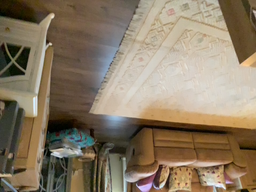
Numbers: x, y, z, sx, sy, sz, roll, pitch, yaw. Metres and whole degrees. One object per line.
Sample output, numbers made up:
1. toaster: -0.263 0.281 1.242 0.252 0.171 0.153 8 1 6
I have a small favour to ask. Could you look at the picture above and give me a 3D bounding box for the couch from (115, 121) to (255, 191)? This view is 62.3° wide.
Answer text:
1. couch: 0.770 1.090 3.200 1.730 1.040 0.940 6 151 -17
